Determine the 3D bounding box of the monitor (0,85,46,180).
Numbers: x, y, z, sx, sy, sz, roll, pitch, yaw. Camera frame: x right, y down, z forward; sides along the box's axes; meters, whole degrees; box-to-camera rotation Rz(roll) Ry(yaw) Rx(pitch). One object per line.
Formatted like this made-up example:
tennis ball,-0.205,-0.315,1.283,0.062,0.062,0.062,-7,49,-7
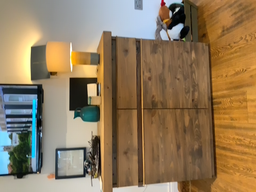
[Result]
monitor,-0.910,0.280,1.700,0.050,0.440,0.730,158,113,-74
